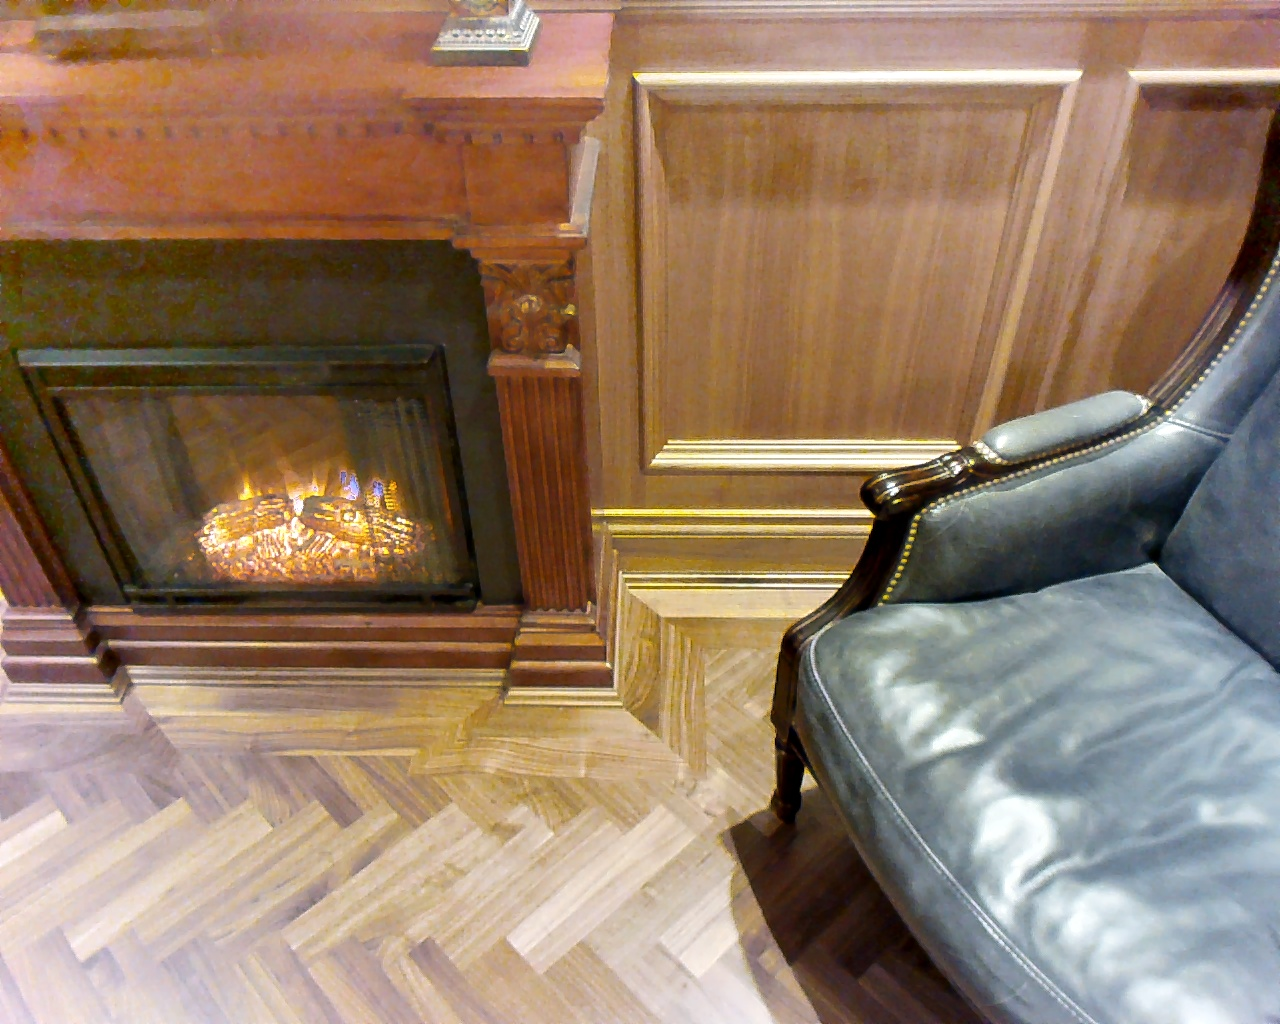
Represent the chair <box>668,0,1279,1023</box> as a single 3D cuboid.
[{"bbox_3d":[0.710,0.150,1.160,1.070,1.110,0.860,-21,46,-20],"label":"chair"}]
